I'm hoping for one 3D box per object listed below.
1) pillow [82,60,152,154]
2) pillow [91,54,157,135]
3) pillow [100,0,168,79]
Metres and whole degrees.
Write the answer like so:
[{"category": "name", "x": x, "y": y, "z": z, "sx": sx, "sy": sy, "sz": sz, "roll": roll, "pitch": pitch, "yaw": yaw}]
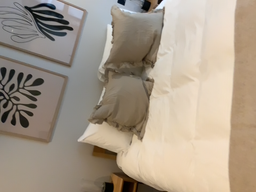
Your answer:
[{"category": "pillow", "x": -0.100, "y": 0.100, "z": 1.830, "sx": 0.240, "sy": 0.490, "sz": 0.700, "roll": 72, "pitch": -170, "yaw": -73}, {"category": "pillow", "x": -0.040, "y": -0.010, "z": 1.670, "sx": 0.210, "sy": 0.410, "sz": 0.550, "roll": 148, "pitch": 113, "yaw": -80}, {"category": "pillow", "x": 0.030, "y": -0.470, "z": 1.740, "sx": 0.270, "sy": 0.460, "sz": 0.600, "roll": 155, "pitch": 112, "yaw": -78}]
